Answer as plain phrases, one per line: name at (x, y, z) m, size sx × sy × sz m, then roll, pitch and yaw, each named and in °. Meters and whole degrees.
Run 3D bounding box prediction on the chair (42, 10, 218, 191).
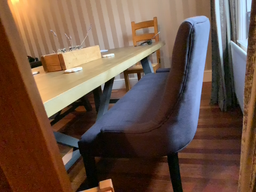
chair at (0.260, -0.060, 1.570) m, size 0.660 × 0.920 × 1.480 m, roll -4°, pitch 18°, yaw 21°
